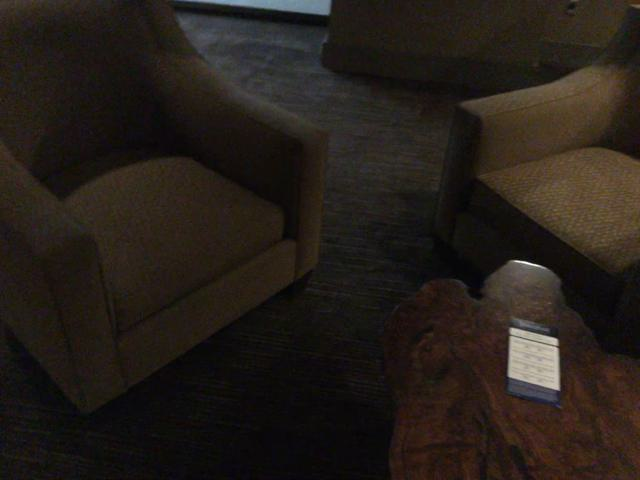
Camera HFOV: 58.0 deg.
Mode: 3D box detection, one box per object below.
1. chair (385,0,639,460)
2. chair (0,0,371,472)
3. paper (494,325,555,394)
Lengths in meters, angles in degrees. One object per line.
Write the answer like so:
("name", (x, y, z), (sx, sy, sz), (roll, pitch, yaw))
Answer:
("chair", (1.000, -0.210, 1.780), (1.110, 0.860, 1.020), (-16, 40, -26))
("chair", (-0.570, -0.190, 1.660), (0.960, 0.830, 0.960), (30, 43, 32))
("paper", (0.420, 0.240, 1.180), (0.110, 0.010, 0.150), (14, 37, 14))
